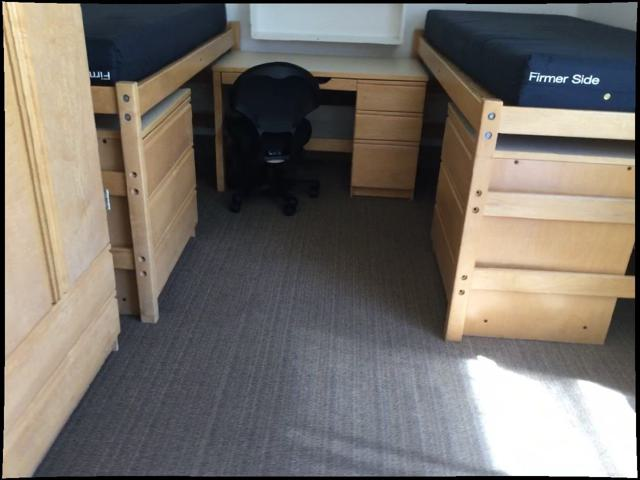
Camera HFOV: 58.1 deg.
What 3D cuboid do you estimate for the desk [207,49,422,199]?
[{"bbox_3d":[-0.030,-0.772,3.720,1.207,0.762,0.720,2,26,1],"label":"desk"}]

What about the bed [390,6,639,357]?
[{"bbox_3d":[1.017,-0.531,2.960,1.067,1.082,2.211,2,26,1],"label":"bed"}]

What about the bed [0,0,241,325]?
[{"bbox_3d":[-1.127,-0.642,3.040,1.047,1.102,2.141,2,26,1],"label":"bed"}]
